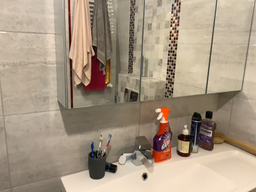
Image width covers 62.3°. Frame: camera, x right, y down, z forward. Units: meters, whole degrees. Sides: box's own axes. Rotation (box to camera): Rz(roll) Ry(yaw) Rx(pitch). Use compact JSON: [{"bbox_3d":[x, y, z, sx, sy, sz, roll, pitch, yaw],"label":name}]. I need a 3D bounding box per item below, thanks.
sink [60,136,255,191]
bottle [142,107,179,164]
[{"bbox_3d":[0.240,0.410,1.000,0.990,0.110,0.460,-5,15,-30],"label":"sink"},{"bbox_3d":[0.170,0.200,1.120,0.140,0.250,0.110,-7,16,-34],"label":"bottle"}]
